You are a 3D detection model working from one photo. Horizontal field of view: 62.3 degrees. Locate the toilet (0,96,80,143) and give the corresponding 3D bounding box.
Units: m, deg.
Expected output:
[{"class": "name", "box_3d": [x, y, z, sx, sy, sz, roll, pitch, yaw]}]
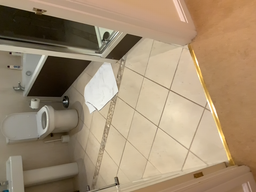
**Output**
[{"class": "toilet", "box_3d": [-1.220, 0.320, 2.910, 0.640, 0.870, 0.410, -35, 62, 47]}]
